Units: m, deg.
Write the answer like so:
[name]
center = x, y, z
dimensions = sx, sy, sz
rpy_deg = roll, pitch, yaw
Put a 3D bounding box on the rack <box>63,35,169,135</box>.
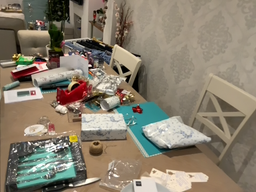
[rack]
center = -0.210, -0.220, 2.630
dimensions = 1.140, 0.750, 0.610
rpy_deg = 28, 34, 33
